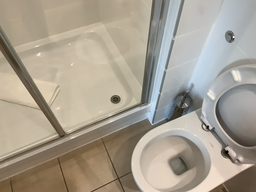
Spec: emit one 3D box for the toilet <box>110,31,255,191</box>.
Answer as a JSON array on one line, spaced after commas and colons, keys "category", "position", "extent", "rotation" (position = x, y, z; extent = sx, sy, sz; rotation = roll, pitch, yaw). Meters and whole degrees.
[{"category": "toilet", "position": [0.260, 0.230, 0.940], "extent": [0.520, 0.810, 0.390], "rotation": [-23, 61, -15]}]
